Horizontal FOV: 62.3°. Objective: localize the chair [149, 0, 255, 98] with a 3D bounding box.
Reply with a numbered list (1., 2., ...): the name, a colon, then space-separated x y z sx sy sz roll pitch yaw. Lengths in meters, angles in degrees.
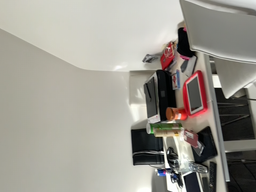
1. chair: 0.720 -0.280 1.450 0.520 0.990 0.420 123 145 -64
